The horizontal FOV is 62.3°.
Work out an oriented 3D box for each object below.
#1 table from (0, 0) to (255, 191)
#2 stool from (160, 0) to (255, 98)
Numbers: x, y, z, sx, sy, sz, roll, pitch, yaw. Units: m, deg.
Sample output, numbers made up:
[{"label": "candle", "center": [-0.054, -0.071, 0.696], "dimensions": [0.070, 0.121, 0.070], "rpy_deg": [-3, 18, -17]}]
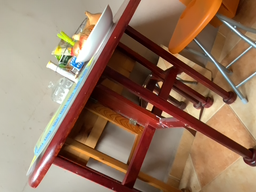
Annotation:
[{"label": "table", "center": [0.140, 0.080, 0.820], "dimensions": [0.700, 0.750, 0.690], "rpy_deg": [-65, 15, -18]}, {"label": "stool", "center": [0.450, -0.240, 0.980], "dimensions": [0.280, 0.450, 0.290], "rpy_deg": [-65, 15, -18]}]
